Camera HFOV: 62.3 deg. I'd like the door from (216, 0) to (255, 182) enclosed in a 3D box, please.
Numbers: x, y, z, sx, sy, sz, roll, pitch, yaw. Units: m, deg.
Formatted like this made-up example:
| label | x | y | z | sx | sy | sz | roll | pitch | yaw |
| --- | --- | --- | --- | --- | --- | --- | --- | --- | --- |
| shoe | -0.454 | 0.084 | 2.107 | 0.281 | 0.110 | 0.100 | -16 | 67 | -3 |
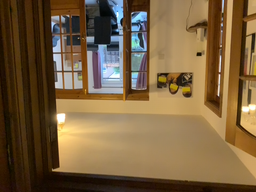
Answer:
| label | x | y | z | sx | sy | sz | roll | pitch | yaw |
| --- | --- | --- | --- | --- | --- | --- | --- | --- | --- |
| door | 0.690 | -0.520 | 1.110 | 0.070 | 1.930 | 0.550 | -1 | -172 | -6 |
